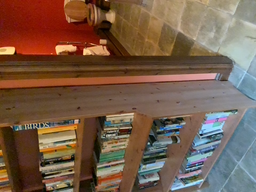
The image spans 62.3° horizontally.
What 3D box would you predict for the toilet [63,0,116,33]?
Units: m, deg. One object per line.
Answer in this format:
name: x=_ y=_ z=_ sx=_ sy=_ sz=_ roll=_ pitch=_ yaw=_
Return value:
toilet: x=-0.730 y=-1.540 z=3.900 sx=0.550 sy=0.810 sz=0.520 roll=-121 pitch=35 yaw=-46
